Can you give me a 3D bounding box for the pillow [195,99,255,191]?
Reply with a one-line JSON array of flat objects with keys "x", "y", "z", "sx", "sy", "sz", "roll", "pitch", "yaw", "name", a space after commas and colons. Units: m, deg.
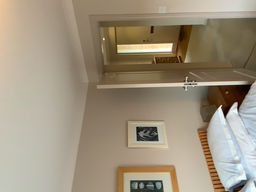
[{"x": 0.960, "y": 0.490, "z": 2.080, "sx": 0.510, "sy": 0.310, "sz": 0.770, "roll": 90, "pitch": 178, "yaw": -49, "name": "pillow"}]
